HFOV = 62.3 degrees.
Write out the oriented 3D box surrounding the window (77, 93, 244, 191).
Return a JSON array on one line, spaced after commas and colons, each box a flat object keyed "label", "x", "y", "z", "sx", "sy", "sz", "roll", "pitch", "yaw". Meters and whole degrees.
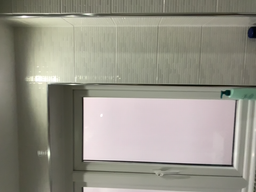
[{"label": "window", "x": 0.180, "y": 0.510, "z": 1.390, "sx": 0.130, "sy": 1.000, "sz": 1.030, "roll": -67, "pitch": -22, "yaw": -84}]
